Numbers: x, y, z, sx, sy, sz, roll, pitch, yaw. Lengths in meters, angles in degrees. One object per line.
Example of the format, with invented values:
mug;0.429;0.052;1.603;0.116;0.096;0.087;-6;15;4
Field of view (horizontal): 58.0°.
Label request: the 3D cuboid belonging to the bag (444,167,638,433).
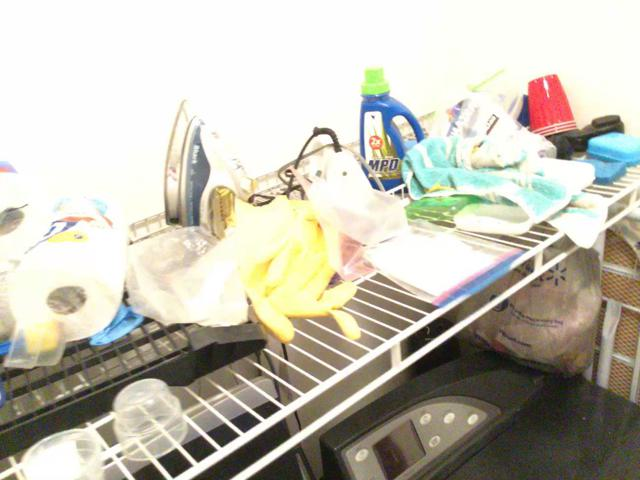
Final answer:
bag;0.510;0.120;1.360;0.270;0.490;0.300;-25;28;-33
